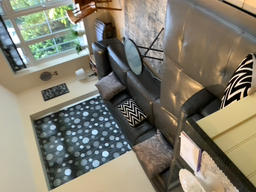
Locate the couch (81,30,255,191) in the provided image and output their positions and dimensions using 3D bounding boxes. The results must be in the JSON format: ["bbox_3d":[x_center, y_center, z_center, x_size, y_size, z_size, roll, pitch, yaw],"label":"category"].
[{"bbox_3d":[0.240,0.210,3.200,2.910,0.780,1.030,54,158,39],"label":"couch"}]

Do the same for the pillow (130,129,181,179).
[{"bbox_3d":[0.340,0.710,2.660,0.490,0.400,0.120,33,146,31],"label":"pillow"}]

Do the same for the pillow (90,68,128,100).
[{"bbox_3d":[-0.320,-0.220,3.620,0.530,0.360,0.160,29,144,25],"label":"pillow"}]

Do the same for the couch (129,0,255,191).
[{"bbox_3d":[0.620,-0.030,1.750,1.040,0.780,1.360,54,158,39],"label":"couch"}]

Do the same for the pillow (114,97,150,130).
[{"bbox_3d":[0.060,0.250,3.210,0.470,0.290,0.140,34,146,31],"label":"pillow"}]

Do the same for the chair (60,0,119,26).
[{"bbox_3d":[-0.680,-1.650,3.570,0.520,0.830,0.620,46,153,50],"label":"chair"}]
